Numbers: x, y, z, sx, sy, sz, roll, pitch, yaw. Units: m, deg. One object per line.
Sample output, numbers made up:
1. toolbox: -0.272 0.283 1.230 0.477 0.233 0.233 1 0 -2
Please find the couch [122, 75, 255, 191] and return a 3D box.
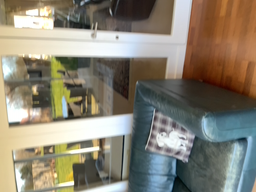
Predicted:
1. couch: 0.510 0.820 2.070 0.990 0.740 1.860 -142 53 -59
